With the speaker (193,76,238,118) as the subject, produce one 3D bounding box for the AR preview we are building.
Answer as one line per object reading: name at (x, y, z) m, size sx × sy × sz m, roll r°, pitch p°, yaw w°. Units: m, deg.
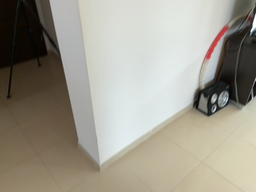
speaker at (0.950, 0.000, 2.310) m, size 0.390 × 0.260 × 0.230 m, roll -25°, pitch 42°, yaw -31°
